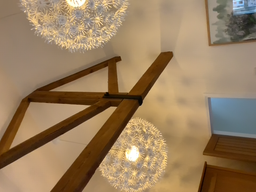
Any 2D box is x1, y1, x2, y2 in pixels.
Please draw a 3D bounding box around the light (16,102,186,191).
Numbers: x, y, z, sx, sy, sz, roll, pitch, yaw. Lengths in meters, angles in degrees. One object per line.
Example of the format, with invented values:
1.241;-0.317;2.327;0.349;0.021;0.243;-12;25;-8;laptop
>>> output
-0.380;0.720;3.130;1.100;2.110;0.900;34;-118;-56;light
